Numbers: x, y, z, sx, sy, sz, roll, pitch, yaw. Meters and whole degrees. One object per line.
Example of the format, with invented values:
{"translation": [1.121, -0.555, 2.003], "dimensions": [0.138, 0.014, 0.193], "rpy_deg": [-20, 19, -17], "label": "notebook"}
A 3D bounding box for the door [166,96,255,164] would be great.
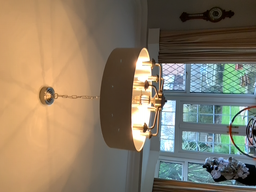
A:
{"translation": [1.880, 0.650, 4.190], "dimensions": [2.160, 1.200, 0.210], "rpy_deg": [2, -11, 14], "label": "door"}

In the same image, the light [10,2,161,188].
{"translation": [-0.230, 0.000, 1.220], "dimensions": [0.510, 0.650, 0.680], "rpy_deg": [25, -48, -6], "label": "light"}
